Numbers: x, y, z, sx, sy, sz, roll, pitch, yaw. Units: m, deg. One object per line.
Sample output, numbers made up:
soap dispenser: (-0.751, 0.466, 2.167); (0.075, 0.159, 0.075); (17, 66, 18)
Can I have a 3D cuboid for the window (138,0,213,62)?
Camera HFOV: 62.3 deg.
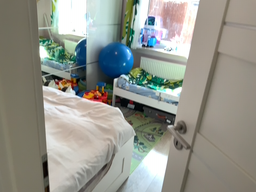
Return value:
window: (0.800, -1.650, 3.460); (1.130, 1.970, 0.120); (19, 27, 28)
